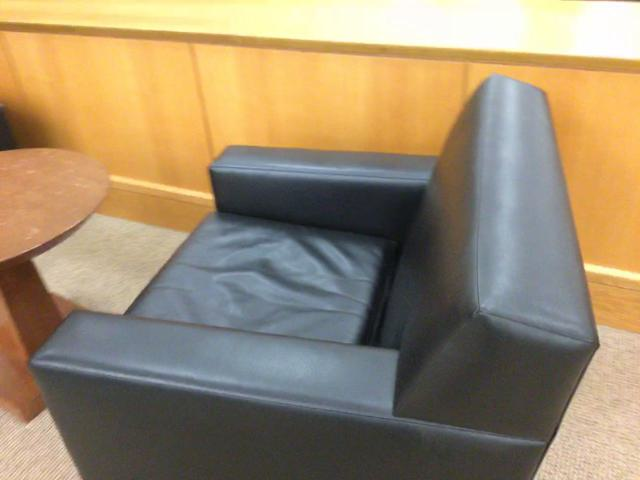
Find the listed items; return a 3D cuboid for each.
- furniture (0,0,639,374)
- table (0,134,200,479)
[{"bbox_3d":[-0.400,-0.520,2.290,3.660,0.900,0.860,12,36,21],"label":"furniture"},{"bbox_3d":[-0.860,0.140,1.650,0.660,0.580,0.690,12,36,21],"label":"table"}]
